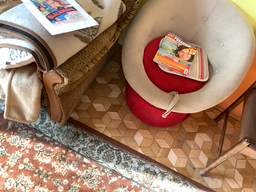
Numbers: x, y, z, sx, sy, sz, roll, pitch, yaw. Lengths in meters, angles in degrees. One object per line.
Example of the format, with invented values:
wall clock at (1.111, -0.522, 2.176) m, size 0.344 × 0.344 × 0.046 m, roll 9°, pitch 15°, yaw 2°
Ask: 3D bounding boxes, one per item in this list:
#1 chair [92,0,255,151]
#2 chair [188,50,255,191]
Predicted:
chair at (0.270, -0.220, 1.320) m, size 0.710 × 0.710 × 0.620 m, roll 28°, pitch 53°, yaw 7°
chair at (0.790, 0.100, 1.140) m, size 0.460 × 0.850 × 0.540 m, roll 29°, pitch 53°, yaw 7°
